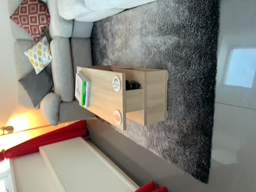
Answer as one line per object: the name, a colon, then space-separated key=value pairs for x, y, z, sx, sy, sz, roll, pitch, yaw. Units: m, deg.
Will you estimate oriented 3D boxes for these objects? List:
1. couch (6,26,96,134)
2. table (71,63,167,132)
couch: x=-1.120 y=-0.300 z=3.020 sx=1.090 sy=0.870 sz=1.200 roll=18 pitch=113 yaw=56
table: x=-0.140 y=-0.060 z=1.880 sx=0.960 sy=0.410 sz=0.400 roll=17 pitch=112 yaw=56
